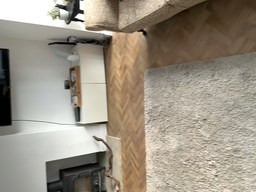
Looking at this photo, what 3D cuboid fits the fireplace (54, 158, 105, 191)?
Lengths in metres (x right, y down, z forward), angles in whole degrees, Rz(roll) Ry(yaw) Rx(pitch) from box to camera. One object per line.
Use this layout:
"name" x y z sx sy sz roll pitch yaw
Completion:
"fireplace" -0.760 1.360 3.350 0.400 0.680 0.540 -2 90 57
